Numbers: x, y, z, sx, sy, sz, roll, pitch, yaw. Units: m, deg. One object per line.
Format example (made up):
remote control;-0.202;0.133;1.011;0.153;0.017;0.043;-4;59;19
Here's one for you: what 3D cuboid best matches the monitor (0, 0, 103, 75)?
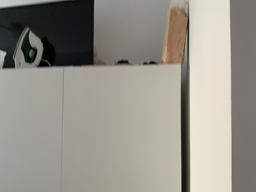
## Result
monitor;-0.530;-0.400;1.440;0.720;0.490;0.070;0;-3;13
